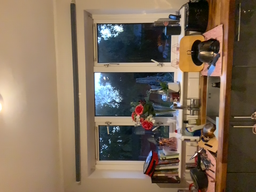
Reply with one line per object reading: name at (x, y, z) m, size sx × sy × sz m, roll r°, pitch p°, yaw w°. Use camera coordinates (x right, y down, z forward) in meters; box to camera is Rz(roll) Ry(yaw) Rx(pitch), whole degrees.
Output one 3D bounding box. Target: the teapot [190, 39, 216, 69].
teapot at (0.630, -0.360, 1.810) m, size 0.310 × 0.110 × 0.230 m, roll -84°, pitch -6°, yaw -78°
